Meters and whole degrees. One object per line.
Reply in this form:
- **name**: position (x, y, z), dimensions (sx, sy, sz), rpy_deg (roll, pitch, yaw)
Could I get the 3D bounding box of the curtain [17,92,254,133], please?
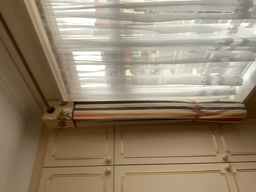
- **curtain**: position (0.070, 0.140, 1.820), dimensions (0.200, 1.870, 0.230), rpy_deg (91, 177, -48)
